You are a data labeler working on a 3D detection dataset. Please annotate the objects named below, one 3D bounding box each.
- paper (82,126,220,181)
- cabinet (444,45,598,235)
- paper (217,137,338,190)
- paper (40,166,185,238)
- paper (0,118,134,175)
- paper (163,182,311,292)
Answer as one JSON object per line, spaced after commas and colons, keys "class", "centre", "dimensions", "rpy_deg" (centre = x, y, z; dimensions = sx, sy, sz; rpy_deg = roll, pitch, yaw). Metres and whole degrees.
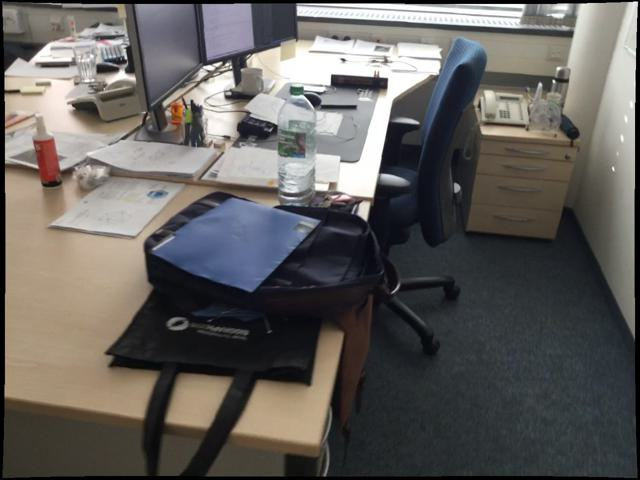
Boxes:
{"class": "paper", "centre": [-0.470, -0.250, 1.640], "dimensions": [0.310, 0.050, 0.220], "rpy_deg": [6, 31, 7]}
{"class": "cabinet", "centre": [0.969, -0.561, 3.010], "dimensions": [0.529, 0.660, 0.900], "rpy_deg": [6, 31, 7]}
{"class": "paper", "centre": [-0.110, -0.220, 1.620], "dimensions": [0.290, 0.030, 0.250], "rpy_deg": [6, 31, 7]}
{"class": "paper", "centre": [-0.490, -0.100, 1.400], "dimensions": [0.240, 0.040, 0.260], "rpy_deg": [6, 31, 7]}
{"class": "paper", "centre": [-0.769, -0.280, 1.700], "dimensions": [0.340, 0.040, 0.280], "rpy_deg": [6, 31, 7]}
{"class": "paper", "centre": [-0.150, -0.020, 1.160], "dimensions": [0.210, 0.040, 0.330], "rpy_deg": [6, 31, 7]}
